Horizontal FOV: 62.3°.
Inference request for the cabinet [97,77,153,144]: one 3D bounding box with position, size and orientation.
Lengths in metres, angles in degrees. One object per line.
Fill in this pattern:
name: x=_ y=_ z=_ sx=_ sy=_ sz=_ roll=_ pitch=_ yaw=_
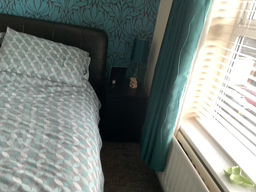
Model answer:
cabinet: x=-0.070 y=0.140 z=2.280 sx=0.460 sy=0.500 sz=0.530 roll=5 pitch=23 yaw=-13
